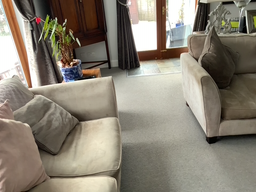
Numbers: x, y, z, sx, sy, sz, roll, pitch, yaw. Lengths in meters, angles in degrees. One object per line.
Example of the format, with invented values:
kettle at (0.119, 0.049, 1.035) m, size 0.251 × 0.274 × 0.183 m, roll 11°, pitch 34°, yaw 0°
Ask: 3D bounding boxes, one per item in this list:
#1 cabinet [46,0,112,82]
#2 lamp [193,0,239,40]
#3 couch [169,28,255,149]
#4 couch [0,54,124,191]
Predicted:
cabinet at (-0.790, -1.280, 3.590) m, size 0.820 × 1.900 × 0.680 m, roll -6°, pitch 27°, yaw -2°
lamp at (1.020, -1.040, 2.490) m, size 0.390 × 0.660 × 0.350 m, roll -4°, pitch 27°, yaw 3°
couch at (1.710, -0.220, 2.250) m, size 2.330 × 0.830 × 1.050 m, roll -5°, pitch 26°, yaw 0°
couch at (-0.580, 0.430, 1.300) m, size 1.050 × 0.840 × 1.700 m, roll -5°, pitch 26°, yaw 0°
